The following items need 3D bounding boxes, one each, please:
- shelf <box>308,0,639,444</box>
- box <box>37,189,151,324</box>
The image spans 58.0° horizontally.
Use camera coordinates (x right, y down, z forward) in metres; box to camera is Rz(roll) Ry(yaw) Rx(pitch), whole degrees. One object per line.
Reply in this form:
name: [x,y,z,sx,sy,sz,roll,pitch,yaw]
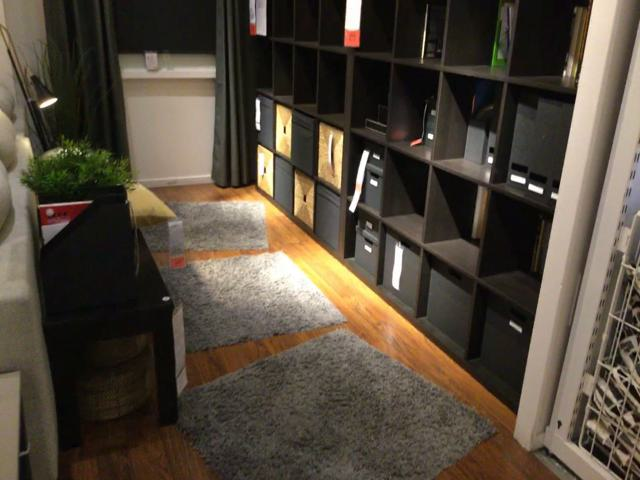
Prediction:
shelf: [0.540,-0.380,2.230,0.470,1.620,1.420,-5,22,-27]
box: [-0.660,0.040,1.700,0.280,0.330,0.180,-5,22,-27]
